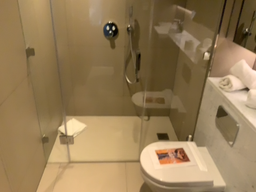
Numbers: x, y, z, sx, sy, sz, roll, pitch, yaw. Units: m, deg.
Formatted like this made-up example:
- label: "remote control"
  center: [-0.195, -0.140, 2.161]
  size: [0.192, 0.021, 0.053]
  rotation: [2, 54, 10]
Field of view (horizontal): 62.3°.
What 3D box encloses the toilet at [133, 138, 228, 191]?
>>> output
- label: "toilet"
  center: [0.330, 0.600, 1.560]
  size: [0.530, 0.400, 0.400]
  rotation: [1, 28, -4]
